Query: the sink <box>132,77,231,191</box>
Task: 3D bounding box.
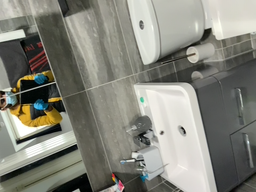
[{"bbox_3d":[0.260,0.220,1.120,0.450,0.120,0.620,6,115,64],"label":"sink"}]
